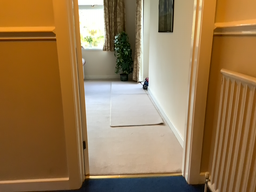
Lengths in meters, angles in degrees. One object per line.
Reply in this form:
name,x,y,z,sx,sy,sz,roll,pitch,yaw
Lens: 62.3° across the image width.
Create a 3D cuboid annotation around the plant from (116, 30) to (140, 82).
plant,0.010,-0.960,5.010,0.490,1.140,0.520,2,16,6
